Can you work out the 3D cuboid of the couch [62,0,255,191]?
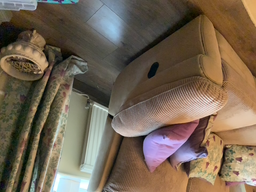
[{"bbox_3d":[0.600,0.360,1.770,1.810,1.030,0.960,27,141,-34],"label":"couch"}]
